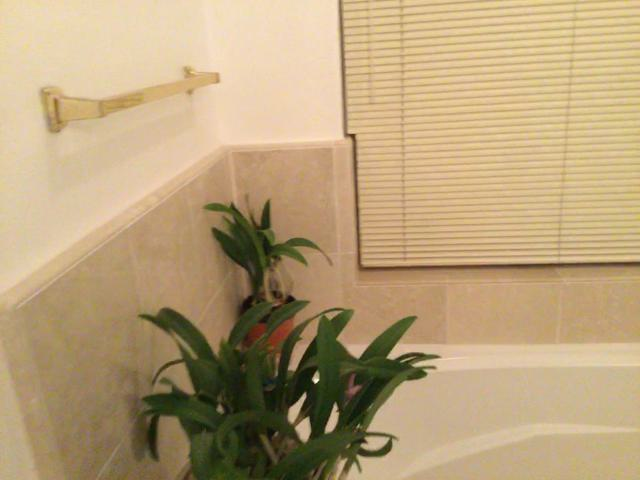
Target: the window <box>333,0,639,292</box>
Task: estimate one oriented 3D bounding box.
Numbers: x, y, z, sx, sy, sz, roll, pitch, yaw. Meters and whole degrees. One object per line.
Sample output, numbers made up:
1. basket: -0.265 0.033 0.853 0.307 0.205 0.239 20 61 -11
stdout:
1. window: 0.660 -0.410 1.440 1.210 1.080 0.070 -3 17 10
